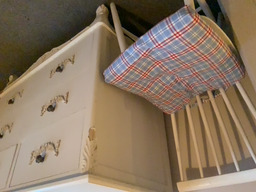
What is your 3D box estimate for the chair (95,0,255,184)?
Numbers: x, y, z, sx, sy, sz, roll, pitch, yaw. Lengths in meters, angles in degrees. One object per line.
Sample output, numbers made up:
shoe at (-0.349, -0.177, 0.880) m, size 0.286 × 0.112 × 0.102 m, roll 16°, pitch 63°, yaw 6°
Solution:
chair at (0.230, -0.120, 0.850) m, size 0.540 × 0.780 × 0.400 m, roll 26°, pitch 138°, yaw -37°
